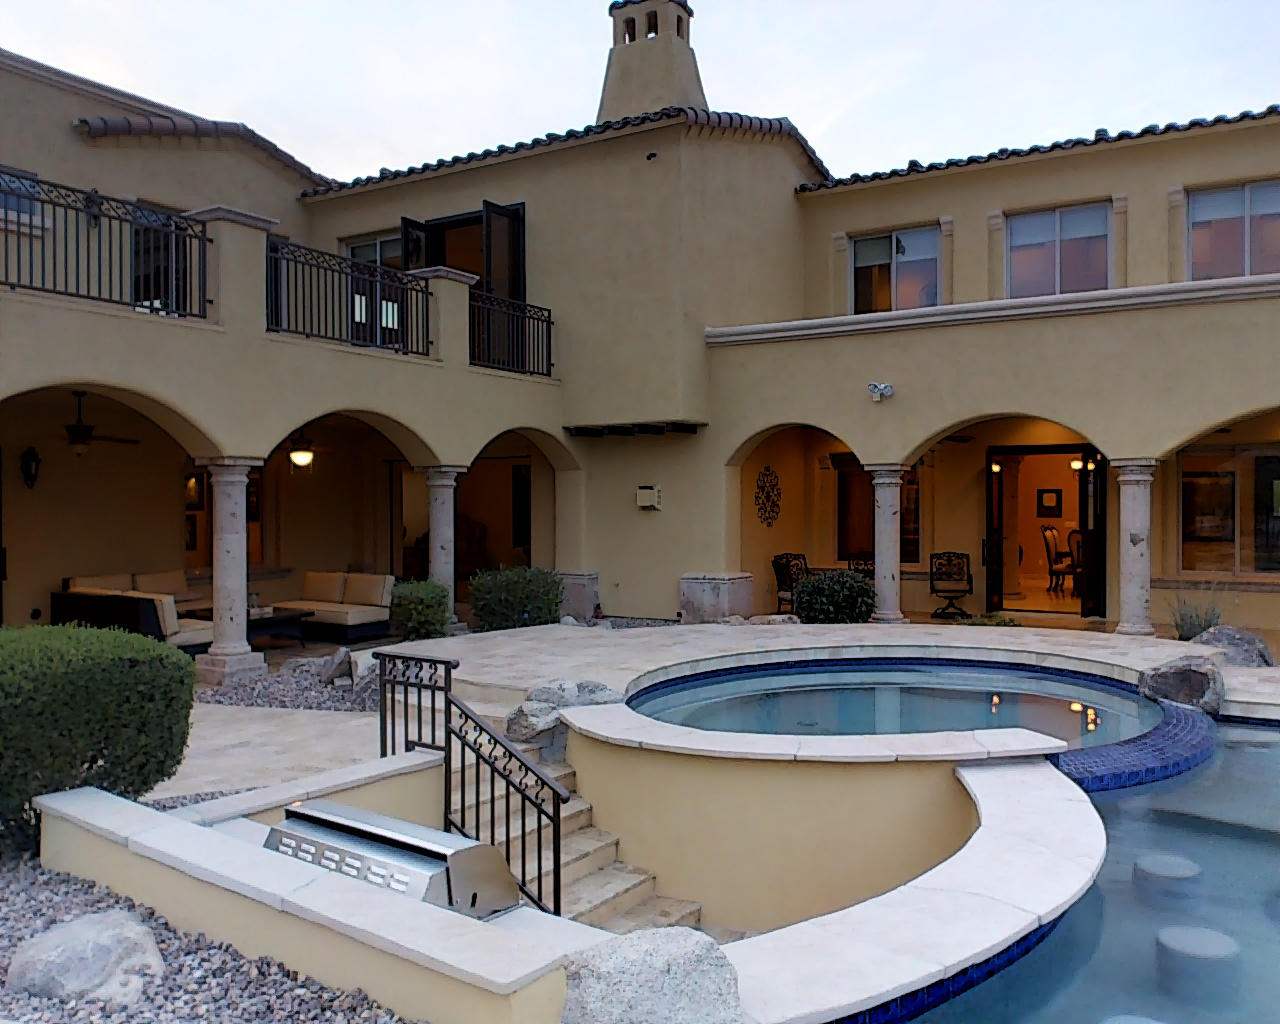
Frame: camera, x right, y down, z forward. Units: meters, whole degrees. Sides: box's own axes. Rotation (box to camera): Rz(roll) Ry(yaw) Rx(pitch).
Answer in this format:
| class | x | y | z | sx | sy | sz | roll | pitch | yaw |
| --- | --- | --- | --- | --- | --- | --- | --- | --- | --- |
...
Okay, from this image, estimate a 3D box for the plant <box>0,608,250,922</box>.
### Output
| class | x | y | z | sx | sy | sz | roll | pitch | yaw |
| --- | --- | --- | --- | --- | --- | --- | --- | --- | --- |
| plant | -2.970 | 1.090 | 5.160 | 1.350 | 1.080 | 1.590 | 0 | 0 | 17 |
